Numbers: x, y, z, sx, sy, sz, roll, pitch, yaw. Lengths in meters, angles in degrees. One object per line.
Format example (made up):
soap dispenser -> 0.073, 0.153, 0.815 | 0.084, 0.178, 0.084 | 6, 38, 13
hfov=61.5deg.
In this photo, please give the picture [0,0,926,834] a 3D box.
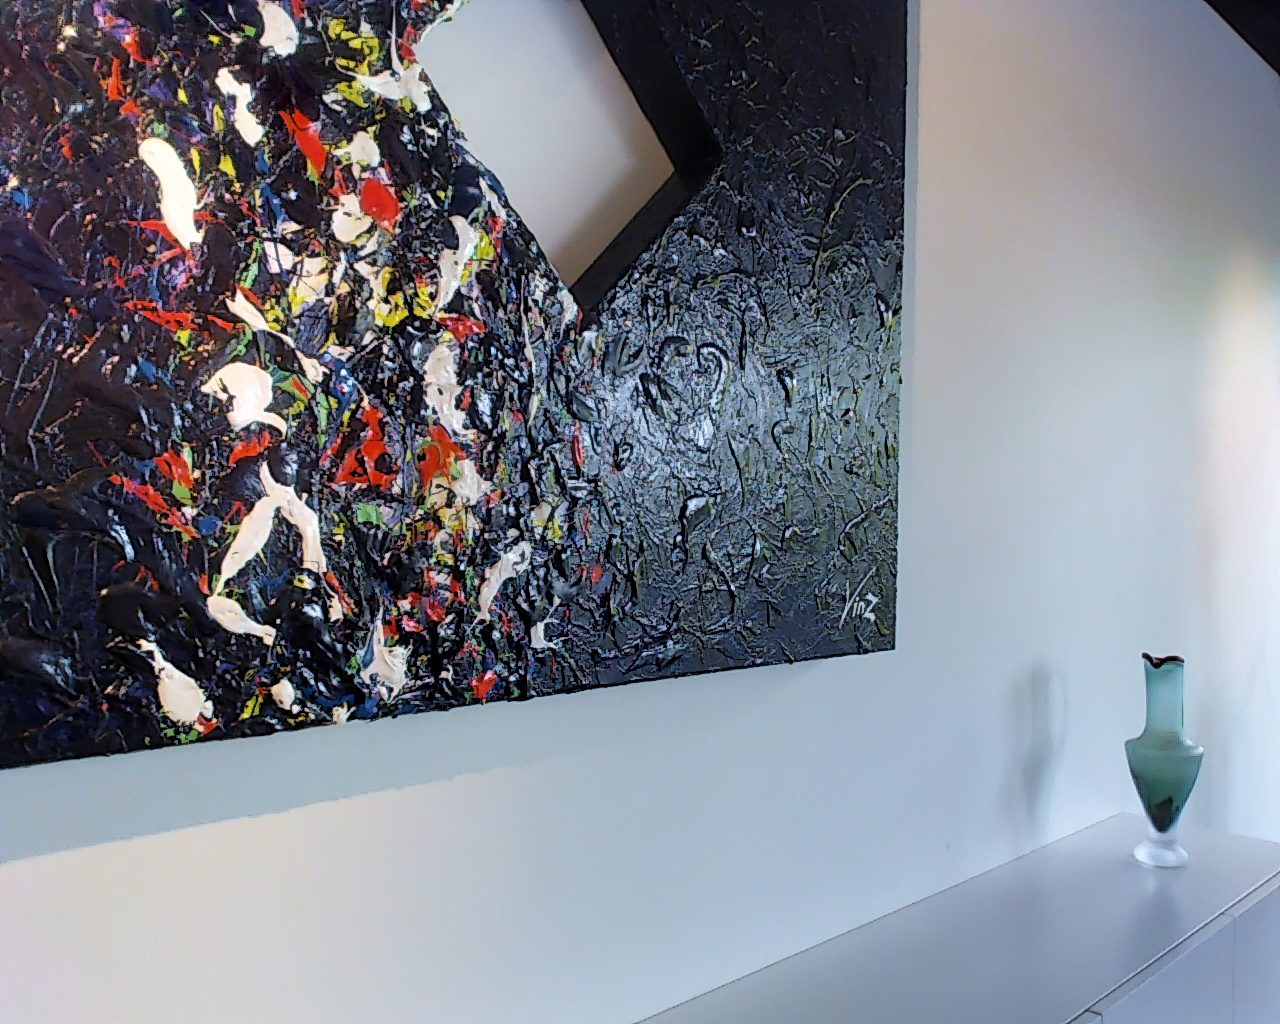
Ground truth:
picture -> -0.080, -0.450, 1.140 | 1.270, 1.360, 0.090 | 2, -1, -44
